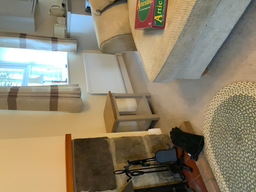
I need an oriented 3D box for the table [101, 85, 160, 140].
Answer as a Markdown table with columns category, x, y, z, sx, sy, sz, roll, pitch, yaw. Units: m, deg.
| category | x | y | z | sx | sy | sz | roll | pitch | yaw |
| --- | --- | --- | --- | --- | --- | --- | --- | --- | --- |
| table | 0.000 | 0.180 | 2.370 | 0.410 | 0.490 | 0.420 | 110 | 153 | -43 |
